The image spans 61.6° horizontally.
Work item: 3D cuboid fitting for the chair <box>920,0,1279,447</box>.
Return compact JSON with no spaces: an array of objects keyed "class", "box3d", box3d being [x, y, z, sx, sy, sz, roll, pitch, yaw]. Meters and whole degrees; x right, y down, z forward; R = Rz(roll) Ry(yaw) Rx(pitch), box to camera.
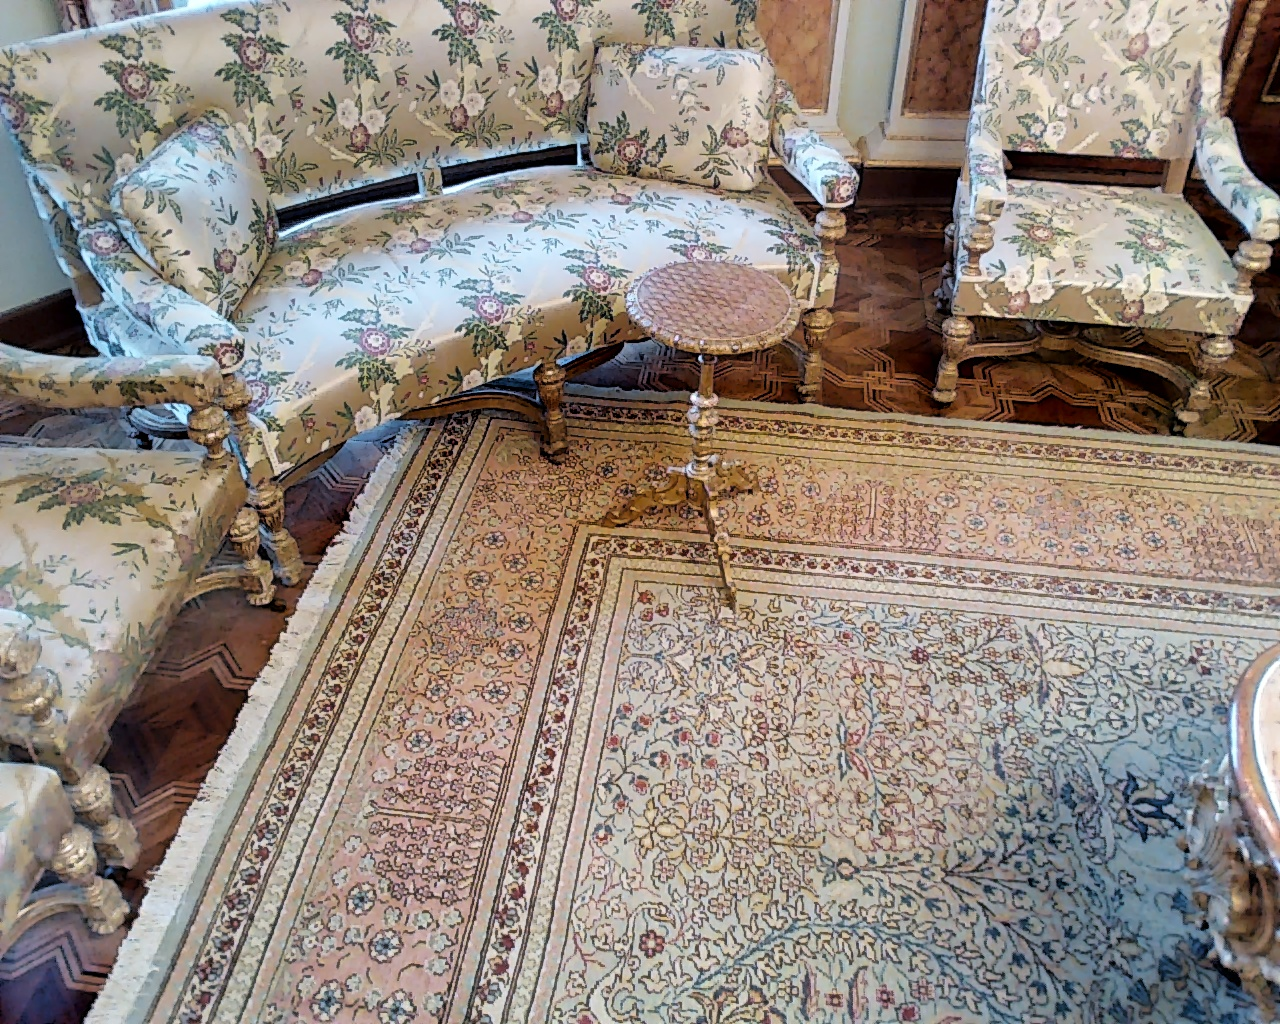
[{"class":"chair","box3d":[1.200,-0.880,2.760,0.720,1.160,0.750,5,42,6]}]
